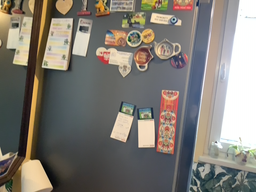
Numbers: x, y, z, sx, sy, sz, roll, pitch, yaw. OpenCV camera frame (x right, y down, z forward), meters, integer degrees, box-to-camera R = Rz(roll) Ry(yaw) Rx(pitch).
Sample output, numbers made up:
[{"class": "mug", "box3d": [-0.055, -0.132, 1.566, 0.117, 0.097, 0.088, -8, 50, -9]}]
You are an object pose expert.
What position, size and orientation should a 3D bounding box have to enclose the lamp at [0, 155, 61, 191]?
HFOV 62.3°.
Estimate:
[{"class": "lamp", "box3d": [-0.390, 0.430, 0.820, 0.170, 0.340, 0.130, 8, 2, 15]}]
